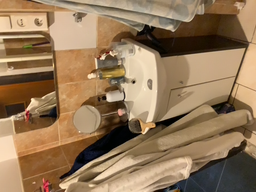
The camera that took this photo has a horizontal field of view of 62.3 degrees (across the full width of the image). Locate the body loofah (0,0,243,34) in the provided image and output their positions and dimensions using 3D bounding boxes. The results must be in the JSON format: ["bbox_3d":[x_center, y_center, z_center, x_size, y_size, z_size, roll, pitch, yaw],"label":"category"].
[{"bbox_3d":[0.060,-0.440,0.970,0.230,1.170,0.230,40,133,49],"label":"body loofah"}]

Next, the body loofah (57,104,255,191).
[{"bbox_3d":[0.330,0.330,1.240,0.190,1.400,0.240,44,136,46],"label":"body loofah"}]
